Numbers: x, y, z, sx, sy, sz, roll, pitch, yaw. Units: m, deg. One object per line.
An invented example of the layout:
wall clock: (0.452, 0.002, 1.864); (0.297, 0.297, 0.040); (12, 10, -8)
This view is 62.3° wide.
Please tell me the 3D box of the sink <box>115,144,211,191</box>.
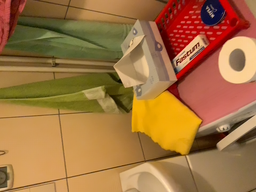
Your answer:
sink: (0.130, 0.420, 0.710); (0.330, 0.140, 0.420); (-44, 54, 51)
